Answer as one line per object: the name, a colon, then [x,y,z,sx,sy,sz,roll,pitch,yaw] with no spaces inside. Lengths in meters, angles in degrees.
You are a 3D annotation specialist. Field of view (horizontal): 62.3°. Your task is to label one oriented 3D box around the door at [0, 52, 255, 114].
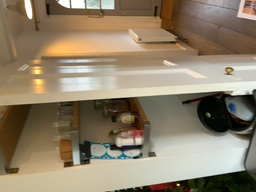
door: [0.260,-0.150,1.250,0.780,1.980,0.040,-121,29,-66]
